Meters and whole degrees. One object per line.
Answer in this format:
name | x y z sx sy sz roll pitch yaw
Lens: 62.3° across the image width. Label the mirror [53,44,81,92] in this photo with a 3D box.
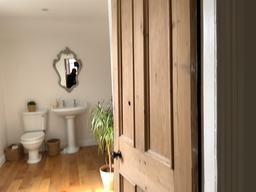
mirror | -1.160 -0.530 4.050 0.450 0.880 0.130 -4 5 -18
